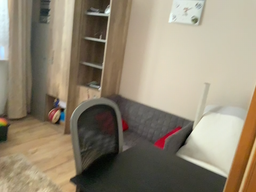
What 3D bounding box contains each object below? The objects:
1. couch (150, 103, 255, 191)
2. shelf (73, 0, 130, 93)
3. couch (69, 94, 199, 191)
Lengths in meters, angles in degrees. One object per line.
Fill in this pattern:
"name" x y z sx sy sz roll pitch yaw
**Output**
"couch" 0.720 0.640 1.920 0.570 0.910 0.970 18 17 33
"shelf" -0.370 -0.740 2.880 0.500 1.280 0.390 18 17 33
"couch" 0.040 0.500 2.500 1.210 0.690 0.800 18 17 33
